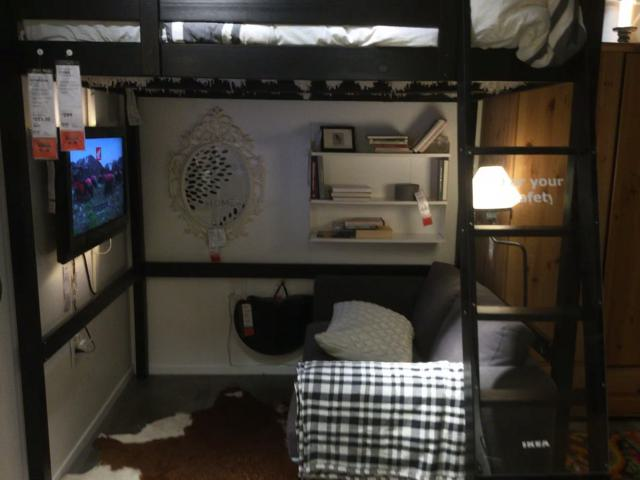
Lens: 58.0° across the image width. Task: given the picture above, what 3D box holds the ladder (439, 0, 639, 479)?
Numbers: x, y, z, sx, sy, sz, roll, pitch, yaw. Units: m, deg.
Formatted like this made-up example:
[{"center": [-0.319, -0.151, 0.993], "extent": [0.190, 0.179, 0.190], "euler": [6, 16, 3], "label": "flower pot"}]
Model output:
[{"center": [0.650, 0.130, 1.740], "extent": [0.520, 2.100, 0.320], "euler": [0, 2, 2], "label": "ladder"}]
